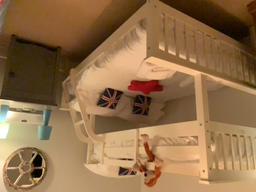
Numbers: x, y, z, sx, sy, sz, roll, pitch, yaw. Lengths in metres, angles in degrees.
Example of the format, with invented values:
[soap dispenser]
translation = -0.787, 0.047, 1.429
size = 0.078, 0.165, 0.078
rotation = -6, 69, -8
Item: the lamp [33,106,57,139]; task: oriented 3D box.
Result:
[lamp]
translation = -1.060, 0.350, 2.690
size = 0.190, 0.370, 0.310
rotation = 10, 163, -30
